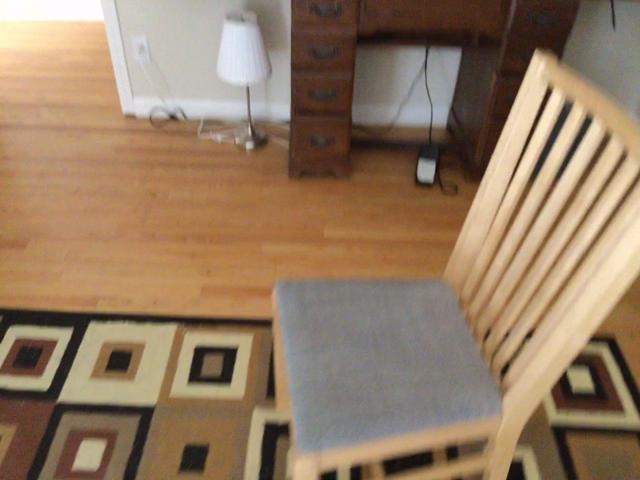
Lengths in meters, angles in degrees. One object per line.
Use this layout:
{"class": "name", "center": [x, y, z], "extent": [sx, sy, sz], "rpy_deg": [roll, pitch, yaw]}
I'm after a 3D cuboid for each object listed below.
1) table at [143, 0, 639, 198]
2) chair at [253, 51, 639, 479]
{"class": "table", "center": [0.440, -0.760, 2.180], "extent": [2.030, 1.050, 0.510], "rpy_deg": [1, 39, -2]}
{"class": "chair", "center": [0.210, 0.180, 1.160], "extent": [0.630, 0.940, 0.500], "rpy_deg": [-3, 40, -8]}
